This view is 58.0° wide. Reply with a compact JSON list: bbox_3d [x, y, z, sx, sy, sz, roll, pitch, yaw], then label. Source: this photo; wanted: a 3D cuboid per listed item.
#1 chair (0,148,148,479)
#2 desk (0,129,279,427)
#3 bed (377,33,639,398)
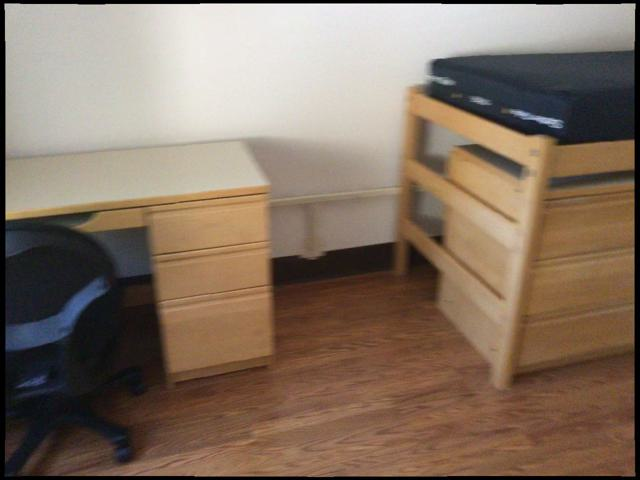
[{"bbox_3d":[-0.888,0.230,1.820,0.529,0.851,0.610,-7,27,-12],"label":"chair"},{"bbox_3d":[-0.908,0.100,2.240,1.347,0.771,0.790,-7,27,-11],"label":"desk"},{"bbox_3d":[1.527,-0.281,2.570,2.266,1.072,1.130,-7,27,-11],"label":"bed"}]
